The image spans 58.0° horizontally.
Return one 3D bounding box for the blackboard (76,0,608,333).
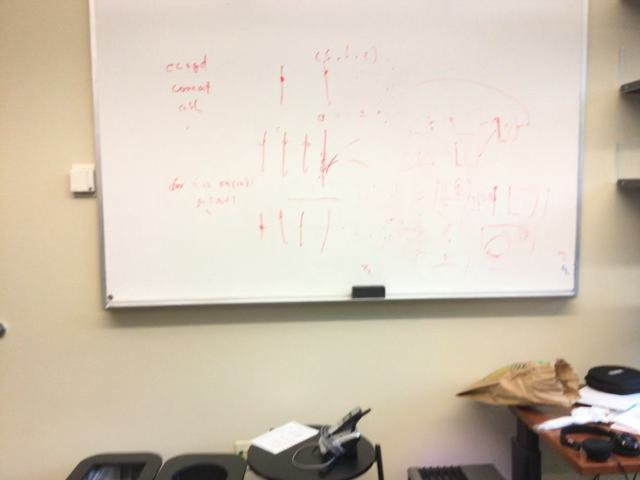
[{"bbox_3d":[0.080,-0.360,2.130,1.810,1.280,0.230,-2,-3,-4],"label":"blackboard"}]
